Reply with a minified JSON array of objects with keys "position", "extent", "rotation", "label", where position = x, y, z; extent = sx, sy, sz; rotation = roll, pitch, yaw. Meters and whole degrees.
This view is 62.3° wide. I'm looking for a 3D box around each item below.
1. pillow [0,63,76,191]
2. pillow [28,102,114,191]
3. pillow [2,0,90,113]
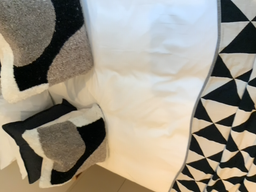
[{"position":[-0.750,0.230,1.540],"extent":[0.410,0.370,0.800],"rotation":[13,127,28],"label":"pillow"},{"position":[-0.300,0.350,1.280],"extent":[0.240,0.390,0.440],"rotation":[18,129,25],"label":"pillow"},{"position":[-0.310,-0.220,0.950],"extent":[0.130,0.370,0.460],"rotation":[-1,127,5],"label":"pillow"}]
